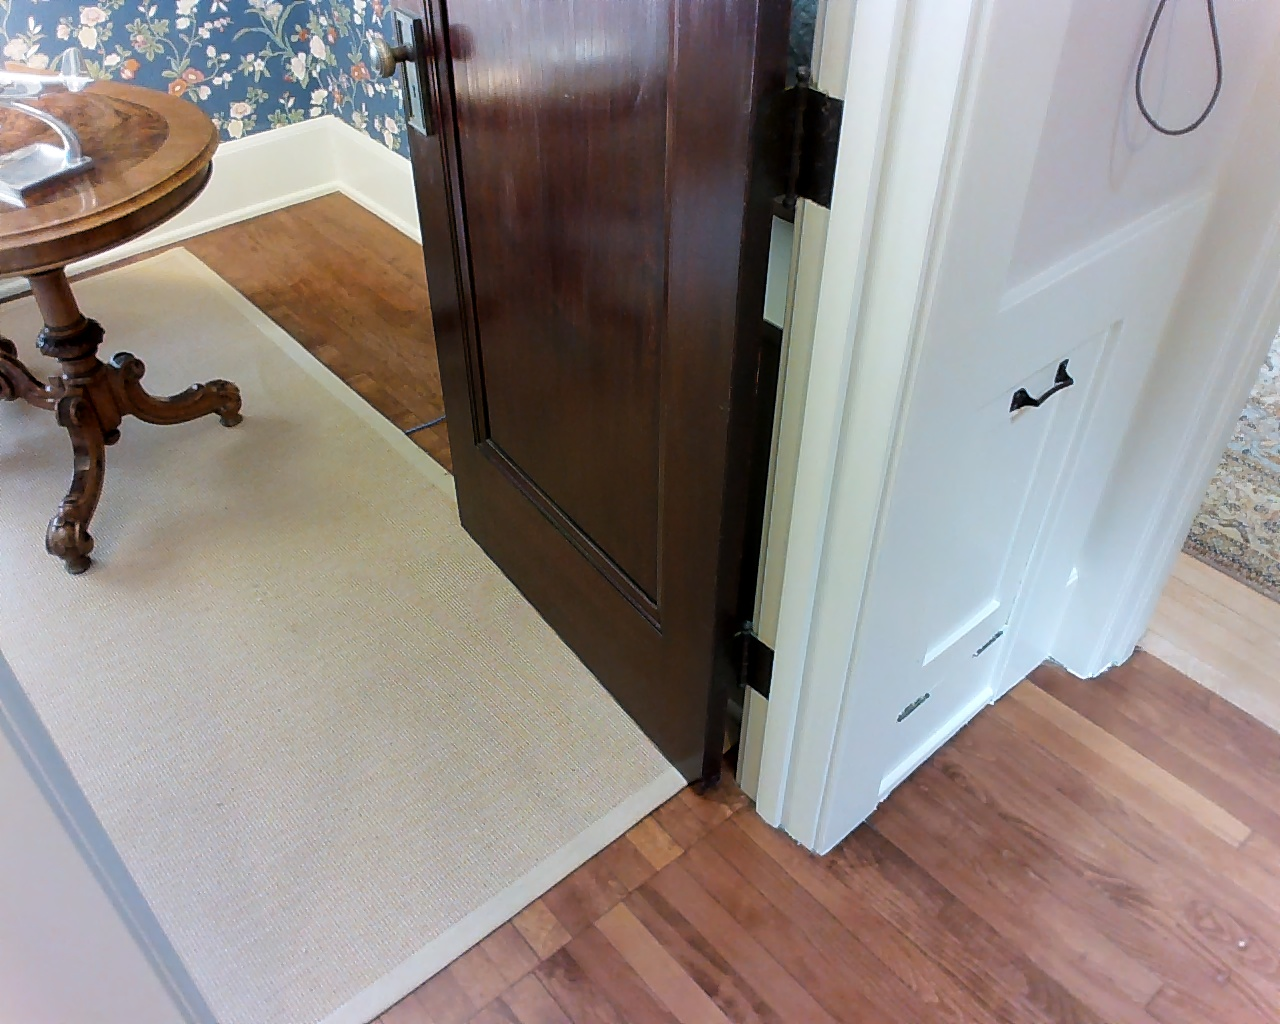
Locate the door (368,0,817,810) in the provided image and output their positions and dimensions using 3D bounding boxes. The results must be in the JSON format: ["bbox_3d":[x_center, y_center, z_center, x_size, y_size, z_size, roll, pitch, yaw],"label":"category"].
[{"bbox_3d":[-0.130,-0.590,1.380,0.100,2.190,0.920,-24,47,-24],"label":"door"}]

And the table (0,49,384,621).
[{"bbox_3d":[-1.360,-0.430,2.260,1.290,0.780,0.780,9,43,10],"label":"table"}]
